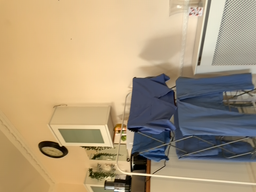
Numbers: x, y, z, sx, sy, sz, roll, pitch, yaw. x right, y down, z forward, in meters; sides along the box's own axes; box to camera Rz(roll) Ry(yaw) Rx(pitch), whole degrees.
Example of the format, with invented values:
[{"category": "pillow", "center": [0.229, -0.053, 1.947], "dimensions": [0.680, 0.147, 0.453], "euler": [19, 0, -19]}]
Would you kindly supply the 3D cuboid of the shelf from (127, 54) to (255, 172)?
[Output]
[{"category": "shelf", "center": [0.780, 0.140, 2.010], "dimensions": [0.670, 1.450, 0.850], "euler": [83, -169, -46]}]
